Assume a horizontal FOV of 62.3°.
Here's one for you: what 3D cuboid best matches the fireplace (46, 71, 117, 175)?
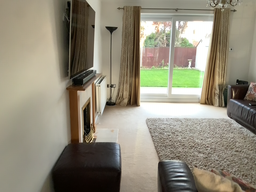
[{"bbox_3d":[-0.490,0.230,2.820,0.660,0.980,1.320,0,13,-2],"label":"fireplace"}]

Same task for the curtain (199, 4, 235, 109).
[{"bbox_3d":[2.080,-0.870,5.030,0.540,2.400,0.170,1,13,0],"label":"curtain"}]

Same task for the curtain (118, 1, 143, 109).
[{"bbox_3d":[0.040,-0.880,4.860,0.510,2.360,0.250,1,13,0],"label":"curtain"}]
